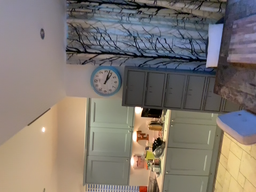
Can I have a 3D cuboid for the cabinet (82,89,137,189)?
[{"bbox_3d":[-0.330,0.740,3.640,0.340,0.780,1.640,-98,13,-77],"label":"cabinet"}]
